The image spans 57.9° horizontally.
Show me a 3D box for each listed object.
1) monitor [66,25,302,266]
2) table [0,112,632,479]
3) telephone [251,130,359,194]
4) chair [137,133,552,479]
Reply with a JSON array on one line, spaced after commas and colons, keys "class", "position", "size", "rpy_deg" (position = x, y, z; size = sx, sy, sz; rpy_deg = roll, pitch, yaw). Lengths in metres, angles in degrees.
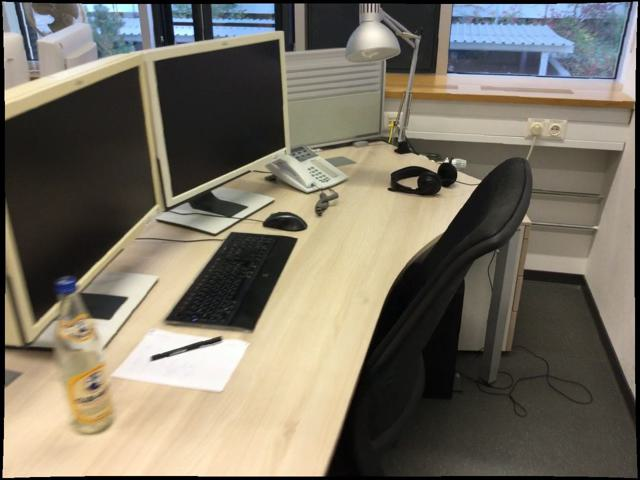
[{"class": "monitor", "position": [-0.320, -0.300, 1.610], "size": [0.210, 0.500, 0.620], "rpy_deg": [14, 30, 29]}, {"class": "table", "position": [-0.030, 0.290, 1.650], "size": [1.219, 0.761, 2.190], "rpy_deg": [5, 26, 12]}, {"class": "telephone", "position": [-0.040, -0.270, 1.960], "size": [0.300, 0.120, 0.280], "rpy_deg": [5, 26, 12]}, {"class": "chair", "position": [0.080, 0.300, 1.370], "size": [0.689, 0.971, 0.490], "rpy_deg": [5, 26, 12]}]
